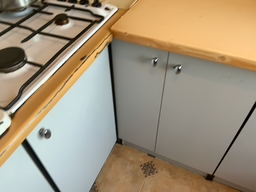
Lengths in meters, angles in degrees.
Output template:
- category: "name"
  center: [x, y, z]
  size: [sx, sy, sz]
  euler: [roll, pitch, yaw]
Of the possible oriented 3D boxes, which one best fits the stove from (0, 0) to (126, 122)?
- category: "stove"
  center: [-0.400, -0.260, 0.740]
  size: [0.570, 0.050, 0.660]
  euler: [17, 49, 16]
